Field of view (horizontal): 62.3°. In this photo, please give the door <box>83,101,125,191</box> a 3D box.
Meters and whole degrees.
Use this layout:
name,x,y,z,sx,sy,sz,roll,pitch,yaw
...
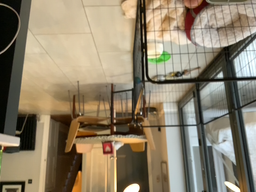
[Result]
name,x,y,z,sx,sy,sz,roll,pitch,yaw
door,-0.500,1.200,4.240,0.910,2.090,0.130,-11,162,29
